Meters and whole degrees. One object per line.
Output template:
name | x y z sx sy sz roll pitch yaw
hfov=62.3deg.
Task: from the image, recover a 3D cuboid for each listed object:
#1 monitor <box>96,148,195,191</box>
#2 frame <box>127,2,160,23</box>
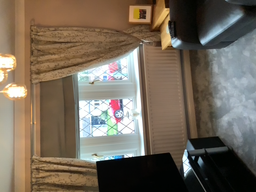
monitor | 0.220 1.010 1.740 1.460 0.860 0.080 -111 23 -57
frame | 0.200 -1.120 2.840 0.250 0.370 0.240 -116 26 -62
